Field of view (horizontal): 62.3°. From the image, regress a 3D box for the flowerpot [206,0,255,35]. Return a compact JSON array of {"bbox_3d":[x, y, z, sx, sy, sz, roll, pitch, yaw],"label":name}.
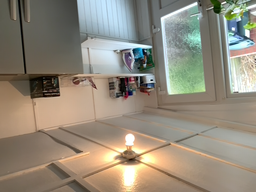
[{"bbox_3d":[0.920,-0.890,1.810,0.390,0.610,0.350,-6,-179,-41],"label":"flowerpot"}]
